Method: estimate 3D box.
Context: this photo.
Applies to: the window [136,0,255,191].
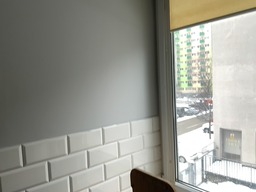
[{"bbox_3d":[0.520,-0.040,1.040,0.130,1.720,1.180,-6,5,-42],"label":"window"}]
